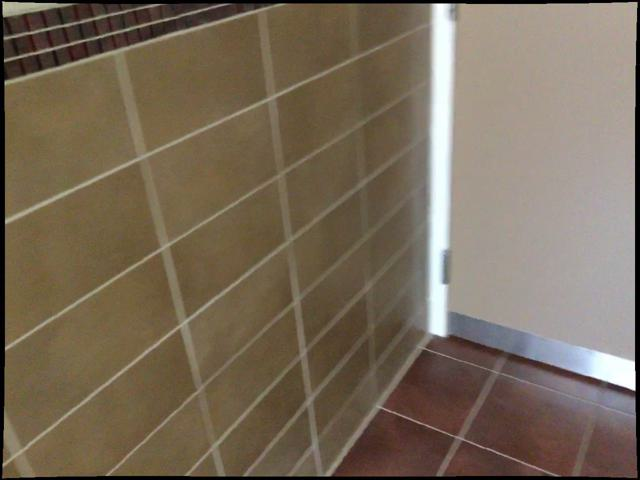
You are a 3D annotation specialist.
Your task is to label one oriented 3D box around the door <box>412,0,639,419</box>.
[{"bbox_3d":[0.738,-0.231,1.370,1.088,1.553,0.100,14,34,32],"label":"door"}]
